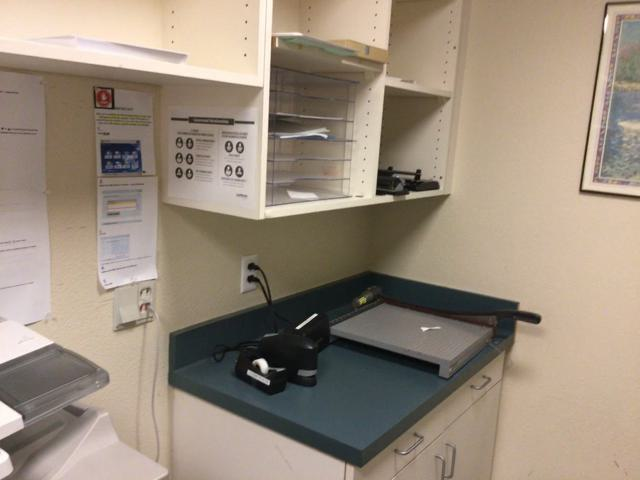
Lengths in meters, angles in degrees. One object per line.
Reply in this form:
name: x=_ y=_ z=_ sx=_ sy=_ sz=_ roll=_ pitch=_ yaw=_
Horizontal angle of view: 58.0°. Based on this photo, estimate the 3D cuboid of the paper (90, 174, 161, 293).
paper: x=-0.450 y=-0.020 z=1.350 sx=0.030 sy=0.260 sz=0.160 roll=7 pitch=11 yaw=36

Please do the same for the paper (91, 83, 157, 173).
paper: x=-0.440 y=-0.250 z=1.310 sx=0.020 sy=0.190 sz=0.150 roll=7 pitch=11 yaw=36

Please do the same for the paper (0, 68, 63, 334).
paper: x=-0.620 y=-0.070 z=1.100 sx=0.040 sy=0.500 sz=0.220 roll=7 pitch=11 yaw=36

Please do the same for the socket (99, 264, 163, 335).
socket: x=-0.450 y=0.140 z=1.390 sx=0.020 sy=0.140 sz=0.160 roll=7 pitch=11 yaw=36

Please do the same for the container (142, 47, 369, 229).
container: x=-0.150 y=-0.260 z=1.520 sx=0.350 sy=0.380 sz=0.480 roll=7 pitch=11 yaw=36
